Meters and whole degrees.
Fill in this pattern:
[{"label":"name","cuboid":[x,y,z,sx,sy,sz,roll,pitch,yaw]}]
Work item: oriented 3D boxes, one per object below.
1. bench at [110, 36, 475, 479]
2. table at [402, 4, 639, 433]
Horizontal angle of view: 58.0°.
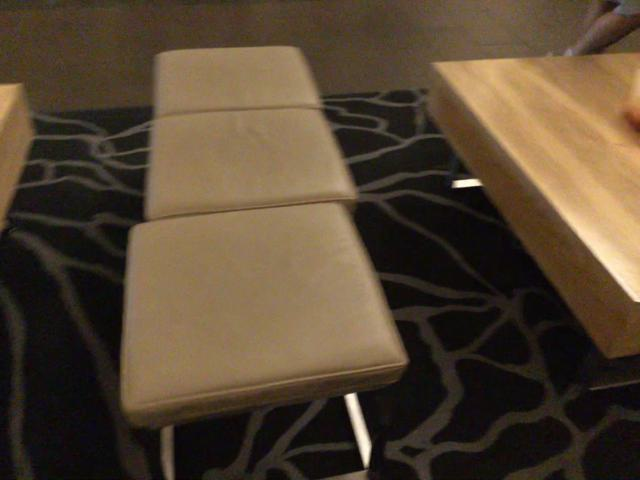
[{"label":"bench","cuboid":[-0.190,-0.040,1.700,0.590,0.510,1.630,-5,40,-10]},{"label":"table","cuboid":[1.010,-0.220,1.830,1.080,0.590,1.330,-5,40,-10]}]
